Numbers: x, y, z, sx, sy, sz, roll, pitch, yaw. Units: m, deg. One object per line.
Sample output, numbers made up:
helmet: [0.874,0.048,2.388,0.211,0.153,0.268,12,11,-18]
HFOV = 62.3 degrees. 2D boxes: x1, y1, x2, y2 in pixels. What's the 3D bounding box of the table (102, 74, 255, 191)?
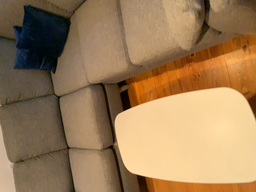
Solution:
table: [0.340,0.220,1.310,0.950,0.440,0.470,-17,86,47]
